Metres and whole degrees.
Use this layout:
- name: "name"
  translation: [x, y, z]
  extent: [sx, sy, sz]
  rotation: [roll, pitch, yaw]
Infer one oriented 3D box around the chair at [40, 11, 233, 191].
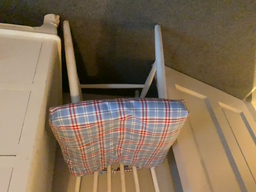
- name: "chair"
  translation: [-0.030, 0.140, 0.820]
  extent: [0.400, 0.780, 0.540]
  rotation: [-2, 142, -8]
